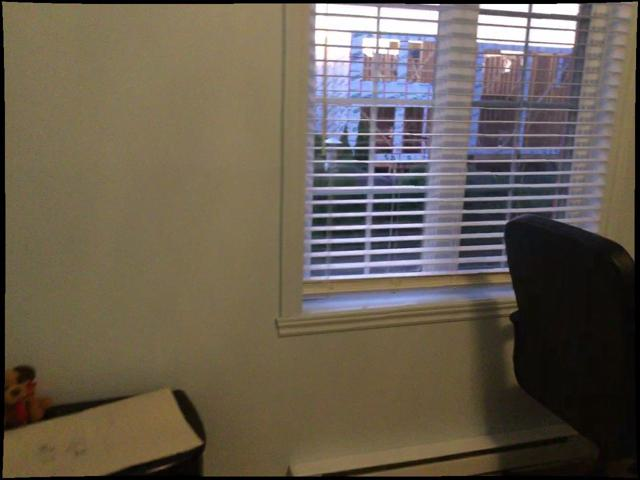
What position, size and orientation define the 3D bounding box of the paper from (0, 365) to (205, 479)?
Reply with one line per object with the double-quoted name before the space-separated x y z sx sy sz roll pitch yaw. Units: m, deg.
"paper" -0.629 0.511 1.590 0.540 0.080 0.380 -6 17 -23
